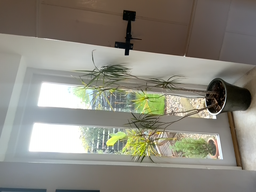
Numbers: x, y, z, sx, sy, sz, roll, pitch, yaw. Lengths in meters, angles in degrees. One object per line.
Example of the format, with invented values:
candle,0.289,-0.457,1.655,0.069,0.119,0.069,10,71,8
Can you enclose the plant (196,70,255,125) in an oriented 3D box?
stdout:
plant,0.980,0.030,2.140,0.400,0.370,0.380,110,162,-58
